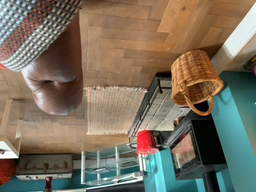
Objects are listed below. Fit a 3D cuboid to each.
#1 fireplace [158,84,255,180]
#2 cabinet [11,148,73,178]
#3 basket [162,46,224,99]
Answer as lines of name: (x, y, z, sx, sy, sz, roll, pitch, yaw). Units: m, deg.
fireplace: (0.810, 0.500, 2.550, 0.490, 0.720, 1.240, -1, 150, -9)
cabinet: (-1.500, 1.220, 3.850, 0.940, 0.370, 0.530, 1, 149, -13)
basket: (0.530, -0.190, 1.810, 0.350, 0.310, 0.300, 1, 149, -13)
